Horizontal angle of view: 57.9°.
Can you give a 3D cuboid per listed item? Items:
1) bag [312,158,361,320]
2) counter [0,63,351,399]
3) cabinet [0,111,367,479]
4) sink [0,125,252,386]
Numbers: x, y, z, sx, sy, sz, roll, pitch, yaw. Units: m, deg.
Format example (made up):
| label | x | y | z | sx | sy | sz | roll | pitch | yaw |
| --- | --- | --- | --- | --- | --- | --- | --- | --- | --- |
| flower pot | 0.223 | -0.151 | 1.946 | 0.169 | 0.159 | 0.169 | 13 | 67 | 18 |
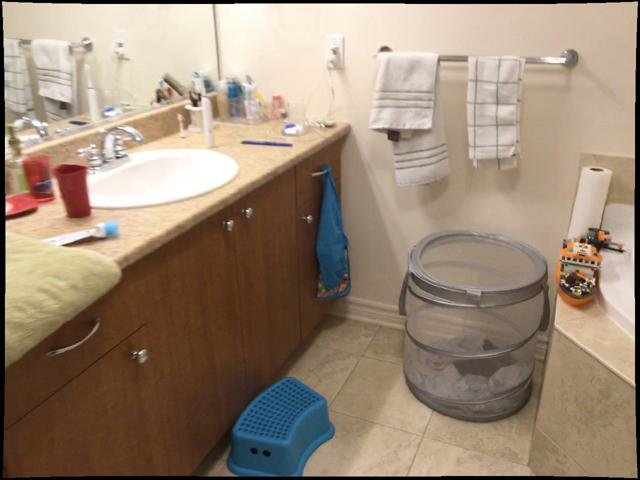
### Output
| label | x | y | z | sx | sy | sz | roll | pitch | yaw |
| --- | --- | --- | --- | --- | --- | --- | --- | --- | --- |
| bag | 0.070 | 0.000 | 2.150 | 0.090 | 0.560 | 0.210 | 8 | 29 | 22 |
| counter | -0.460 | -0.220 | 1.610 | 0.580 | 0.240 | 1.530 | 8 | 29 | 22 |
| cabinet | -0.380 | 0.220 | 1.770 | 0.540 | 0.811 | 1.580 | 8 | 29 | 22 |
| sink | -0.619 | -0.040 | 1.410 | 0.470 | 0.190 | 0.970 | 8 | 29 | 22 |
